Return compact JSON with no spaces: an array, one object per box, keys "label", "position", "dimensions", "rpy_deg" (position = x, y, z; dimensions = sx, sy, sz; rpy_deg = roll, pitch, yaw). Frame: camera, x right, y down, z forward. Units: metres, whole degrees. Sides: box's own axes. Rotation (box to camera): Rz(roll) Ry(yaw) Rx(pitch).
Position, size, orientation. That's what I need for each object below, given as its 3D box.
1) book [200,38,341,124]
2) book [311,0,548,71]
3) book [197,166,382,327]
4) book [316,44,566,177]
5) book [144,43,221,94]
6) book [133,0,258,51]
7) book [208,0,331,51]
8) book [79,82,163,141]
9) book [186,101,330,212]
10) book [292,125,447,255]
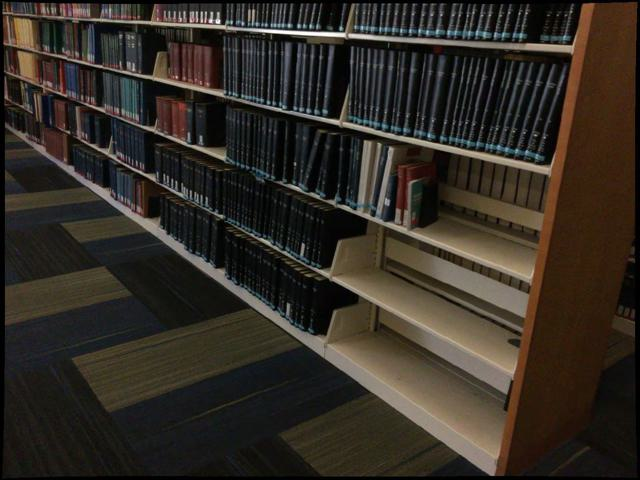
[{"label":"book","position":[-0.249,-0.732,2.570],"dimensions":[0.180,0.291,0.839],"rpy_deg":[-14,26,-36]},{"label":"book","position":[0.309,-0.752,1.970],"dimensions":[0.130,0.261,0.939],"rpy_deg":[-14,26,-36]},{"label":"book","position":[-0.209,-0.030,2.750],"dimensions":[0.190,0.391,1.219],"rpy_deg":[-14,26,-36]},{"label":"book","position":[0.329,-0.481,1.970],"dimensions":[0.090,0.321,0.989],"rpy_deg":[-14,26,-36]},{"label":"book","position":[-0.818,-1.013,3.370],"dimensions":[0.110,0.231,0.759],"rpy_deg":[-14,26,-36]},{"label":"book","position":[-0.708,-1.203,3.080],"dimensions":[0.120,0.311,1.199],"rpy_deg":[-14,26,-36]},{"label":"book","position":[-0.249,-0.993,2.530],"dimensions":[0.110,0.271,0.799],"rpy_deg":[-14,26,-36]},{"label":"book","position":[-1.466,-0.952,4.170],"dimensions":[0.150,0.261,1.179],"rpy_deg":[-14,26,-36]},{"label":"book","position":[-0.329,-0.431,2.760],"dimensions":[0.210,0.341,0.919],"rpy_deg":[-14,26,-36]},{"label":"book","position":[0.170,-0.231,2.340],"dimensions":[0.230,0.361,0.649],"rpy_deg":[-14,26,-36]}]
